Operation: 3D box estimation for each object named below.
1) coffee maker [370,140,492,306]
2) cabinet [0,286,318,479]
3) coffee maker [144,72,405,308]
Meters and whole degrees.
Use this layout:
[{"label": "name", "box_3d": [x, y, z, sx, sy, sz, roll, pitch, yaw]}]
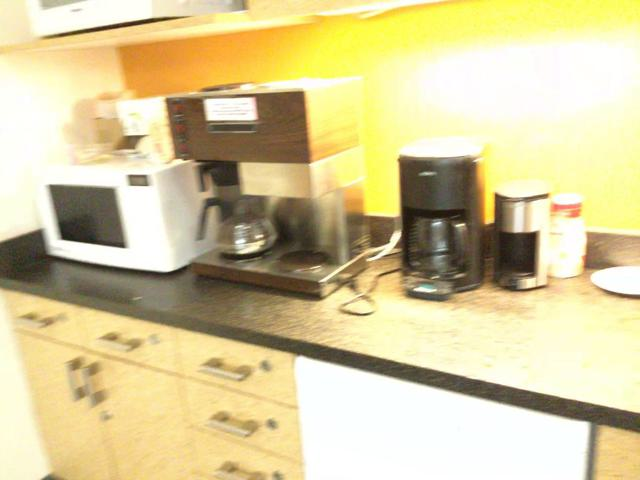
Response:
[{"label": "coffee maker", "box_3d": [0.270, -0.050, 1.380, 0.230, 0.340, 0.180, 6, 23, 28]}, {"label": "cabinet", "box_3d": [-0.500, 0.580, 1.670, 1.080, 0.790, 0.090, 6, 23, 28]}, {"label": "coffee maker", "box_3d": [-0.100, -0.160, 1.560, 0.550, 0.510, 0.340, 6, 23, 28]}]
